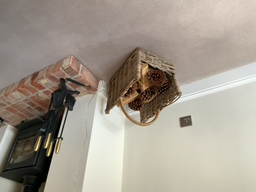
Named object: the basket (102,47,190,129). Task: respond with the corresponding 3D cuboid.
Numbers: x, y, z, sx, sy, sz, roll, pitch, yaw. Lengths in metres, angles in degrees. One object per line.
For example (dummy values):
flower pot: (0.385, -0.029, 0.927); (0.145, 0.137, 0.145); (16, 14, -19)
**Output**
basket: (0.140, -0.020, 1.520); (0.430, 0.260, 0.470); (-18, 139, 27)
